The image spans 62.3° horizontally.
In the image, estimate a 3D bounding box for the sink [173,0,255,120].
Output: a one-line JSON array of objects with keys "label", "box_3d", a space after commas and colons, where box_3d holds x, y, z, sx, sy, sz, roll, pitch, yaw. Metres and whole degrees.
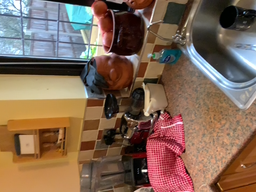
[{"label": "sink", "box_3d": [0.440, -0.250, 0.800, 0.520, 0.190, 0.420, -115, 31, -45]}]
